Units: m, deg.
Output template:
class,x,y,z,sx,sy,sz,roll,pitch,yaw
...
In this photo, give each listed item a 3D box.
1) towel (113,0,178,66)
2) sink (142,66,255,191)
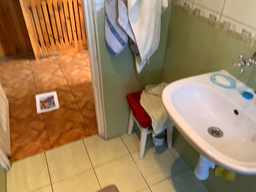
class,x,y,z,sx,sy,sz,roll,pitch,yaw
towel,0.090,-0.650,0.980,0.270,1.000,0.210,-15,42,-19
sink,0.370,0.110,0.900,0.410,0.160,0.520,-16,42,-20
